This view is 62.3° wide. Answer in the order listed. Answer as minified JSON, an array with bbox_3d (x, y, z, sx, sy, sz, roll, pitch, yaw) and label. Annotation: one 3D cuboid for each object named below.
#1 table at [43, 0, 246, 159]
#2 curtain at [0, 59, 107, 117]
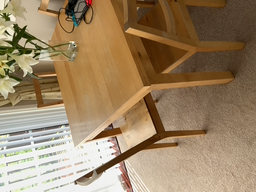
[{"bbox_3d":[-0.020,-0.250,1.540,0.960,0.770,0.990,-44,60,47],"label":"table"},{"bbox_3d":[-1.330,-0.070,1.970,0.220,2.350,0.520,-45,59,46],"label":"curtain"}]
